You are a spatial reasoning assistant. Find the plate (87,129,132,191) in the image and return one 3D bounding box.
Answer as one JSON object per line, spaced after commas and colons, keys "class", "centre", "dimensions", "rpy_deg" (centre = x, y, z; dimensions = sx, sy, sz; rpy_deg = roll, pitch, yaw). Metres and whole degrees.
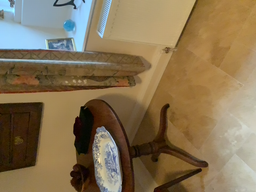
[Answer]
{"class": "plate", "centre": [-0.130, 0.430, 1.250], "dimensions": [0.340, 0.040, 0.320], "rpy_deg": [56, 134, 37]}
